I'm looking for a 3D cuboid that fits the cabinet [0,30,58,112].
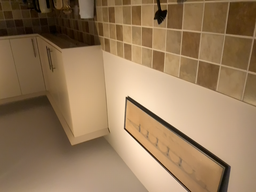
[{"bbox_3d":[-1.470,-0.280,2.480,1.090,0.840,0.300,-13,-154,-27],"label":"cabinet"}]
